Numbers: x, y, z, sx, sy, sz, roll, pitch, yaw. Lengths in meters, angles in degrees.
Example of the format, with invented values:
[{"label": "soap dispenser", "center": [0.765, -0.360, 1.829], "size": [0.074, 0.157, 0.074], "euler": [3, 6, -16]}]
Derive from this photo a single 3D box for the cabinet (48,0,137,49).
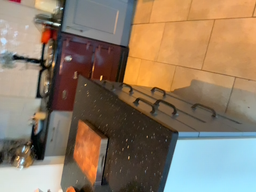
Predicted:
[{"label": "cabinet", "center": [-0.470, -1.010, 2.720], "size": [0.630, 0.880, 0.590], "euler": [27, 108, 57]}]
